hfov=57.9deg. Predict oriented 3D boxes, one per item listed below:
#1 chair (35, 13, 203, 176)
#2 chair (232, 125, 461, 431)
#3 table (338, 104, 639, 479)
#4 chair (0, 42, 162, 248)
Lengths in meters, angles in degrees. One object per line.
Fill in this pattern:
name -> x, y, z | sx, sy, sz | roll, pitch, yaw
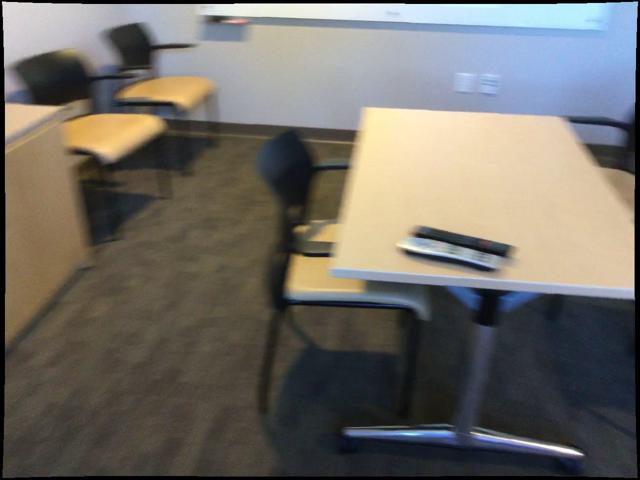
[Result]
chair -> -1.109, -0.851, 3.350 | 0.659, 0.761, 0.530 | 5, 32, 5
chair -> 0.080, 0.100, 1.770 | 0.539, 0.721, 0.530 | 5, 32, 5
table -> 0.519, 0.120, 1.850 | 0.799, 0.701, 1.190 | 5, 32, 5
chair -> -1.179, -0.450, 2.690 | 0.629, 0.761, 0.540 | 5, 32, 5
